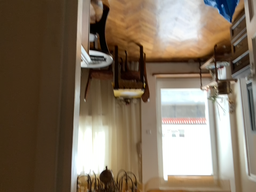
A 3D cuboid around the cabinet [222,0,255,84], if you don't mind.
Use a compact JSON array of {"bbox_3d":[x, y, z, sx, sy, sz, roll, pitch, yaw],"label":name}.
[{"bbox_3d":[1.480,-0.620,2.330,0.480,0.770,0.910,0,169,3],"label":"cabinet"}]
